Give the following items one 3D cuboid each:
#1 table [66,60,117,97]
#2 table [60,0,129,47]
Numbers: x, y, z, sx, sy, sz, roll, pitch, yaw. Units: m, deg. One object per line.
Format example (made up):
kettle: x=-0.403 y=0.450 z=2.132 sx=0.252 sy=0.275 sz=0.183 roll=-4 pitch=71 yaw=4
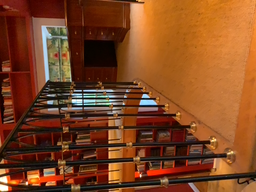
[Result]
table: x=-0.660 y=-0.340 z=3.770 sx=0.720 sy=0.790 sz=0.520 roll=-135 pitch=45 yaw=-70
table: x=-0.430 y=-1.010 z=2.710 sx=0.490 sy=0.790 sz=0.710 roll=-134 pitch=44 yaw=-71
